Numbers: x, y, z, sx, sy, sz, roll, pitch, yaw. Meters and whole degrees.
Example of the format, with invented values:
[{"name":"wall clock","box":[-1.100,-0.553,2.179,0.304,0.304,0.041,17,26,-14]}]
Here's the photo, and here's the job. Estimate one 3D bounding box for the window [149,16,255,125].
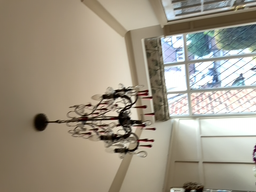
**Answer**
[{"name":"window","box":[1.390,-0.340,3.490,0.190,1.900,1.650,-49,-47,-66]}]
